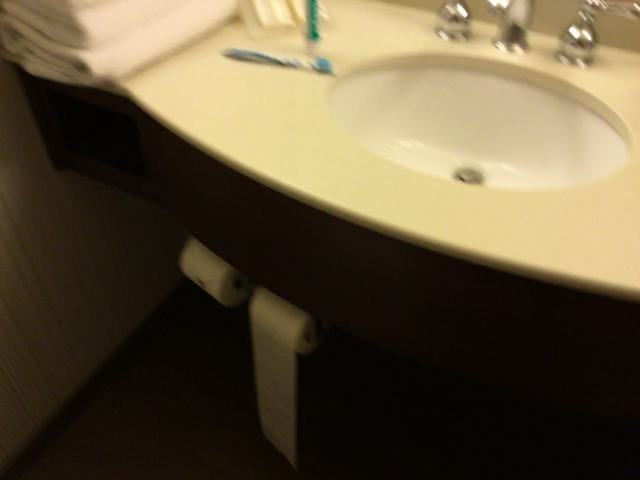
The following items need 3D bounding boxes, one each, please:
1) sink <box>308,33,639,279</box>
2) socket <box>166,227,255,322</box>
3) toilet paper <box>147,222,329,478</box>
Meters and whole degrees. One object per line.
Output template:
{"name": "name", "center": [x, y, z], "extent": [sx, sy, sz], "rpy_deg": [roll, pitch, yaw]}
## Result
{"name": "sink", "center": [0.230, -0.150, 0.900], "extent": [0.430, 0.180, 0.240], "rpy_deg": [20, 44, 19]}
{"name": "socket", "center": [-0.190, 0.060, 1.020], "extent": [0.120, 0.110, 0.080], "rpy_deg": [20, 44, 19]}
{"name": "toilet paper", "center": [-0.140, 0.220, 1.090], "extent": [0.260, 0.450, 0.140], "rpy_deg": [20, 44, 19]}
